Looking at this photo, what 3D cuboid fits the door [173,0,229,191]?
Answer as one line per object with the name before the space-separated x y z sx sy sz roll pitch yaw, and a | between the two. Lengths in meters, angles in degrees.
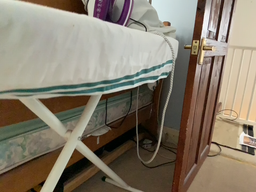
door | 0.470 -0.440 1.130 0.040 1.960 0.670 11 15 26
